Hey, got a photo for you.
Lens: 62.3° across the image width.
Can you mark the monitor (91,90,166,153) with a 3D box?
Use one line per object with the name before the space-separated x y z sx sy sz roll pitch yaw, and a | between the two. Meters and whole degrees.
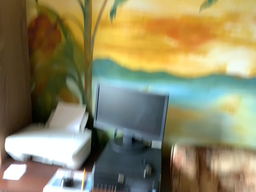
monitor | -0.010 0.140 1.280 0.470 0.350 0.030 2 12 27
